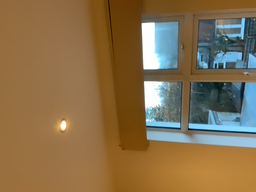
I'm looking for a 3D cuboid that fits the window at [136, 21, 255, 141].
[{"bbox_3d":[0.800,-0.110,2.000,0.090,1.410,1.100,-57,-34,-66],"label":"window"}]
